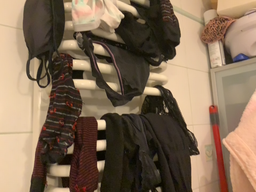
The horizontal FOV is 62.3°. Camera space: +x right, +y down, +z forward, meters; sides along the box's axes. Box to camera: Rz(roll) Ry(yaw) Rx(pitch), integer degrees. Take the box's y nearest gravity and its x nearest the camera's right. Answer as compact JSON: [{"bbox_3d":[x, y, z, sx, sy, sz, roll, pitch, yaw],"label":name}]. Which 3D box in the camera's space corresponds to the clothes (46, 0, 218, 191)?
[{"bbox_3d":[0.030,0.330,0.520,0.380,1.040,0.220,4,-11,-40],"label":"clothes"}]
